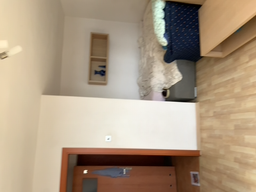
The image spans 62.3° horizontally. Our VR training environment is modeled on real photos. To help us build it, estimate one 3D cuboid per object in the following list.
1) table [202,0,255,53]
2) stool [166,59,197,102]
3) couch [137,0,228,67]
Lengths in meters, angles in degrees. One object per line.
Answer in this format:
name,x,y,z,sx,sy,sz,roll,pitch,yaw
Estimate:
table,1.300,-1.010,2.290,1.210,0.410,0.650,136,136,-77
stool,0.940,-0.260,3.790,0.420,0.400,0.680,139,133,-78
couch,0.740,-1.310,3.280,0.970,1.020,1.410,133,139,-76
